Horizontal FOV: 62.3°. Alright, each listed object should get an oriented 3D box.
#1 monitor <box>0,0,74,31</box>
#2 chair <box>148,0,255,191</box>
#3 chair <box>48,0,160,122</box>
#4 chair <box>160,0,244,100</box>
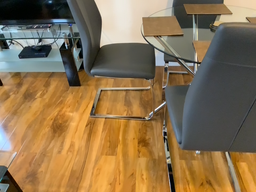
[{"bbox_3d":[-0.980,-0.840,1.840,0.930,0.530,0.060,0,38,4],"label":"monitor"},{"bbox_3d":[0.330,0.040,1.060,0.440,1.000,0.570,1,39,5],"label":"chair"},{"bbox_3d":[-0.100,-0.350,1.570,0.610,1.010,0.470,2,39,6],"label":"chair"},{"bbox_3d":[0.540,-0.530,1.760,0.450,1.010,0.530,0,38,4],"label":"chair"}]
